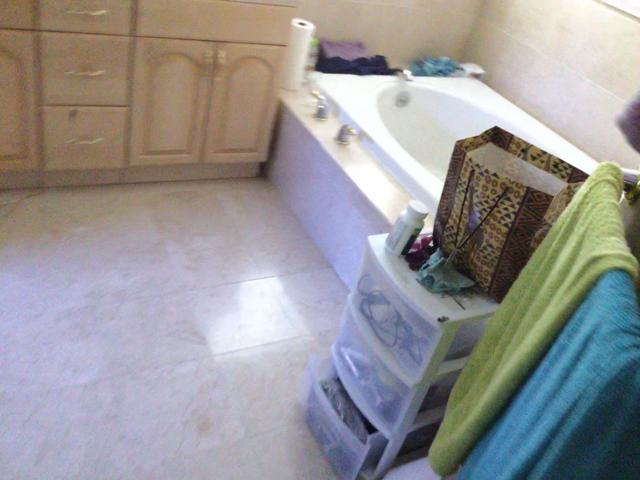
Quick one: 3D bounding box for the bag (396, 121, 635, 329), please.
[{"bbox_3d":[0.420,-0.050,1.320,0.270,0.320,0.330,-7,41,-31],"label":"bag"}]
